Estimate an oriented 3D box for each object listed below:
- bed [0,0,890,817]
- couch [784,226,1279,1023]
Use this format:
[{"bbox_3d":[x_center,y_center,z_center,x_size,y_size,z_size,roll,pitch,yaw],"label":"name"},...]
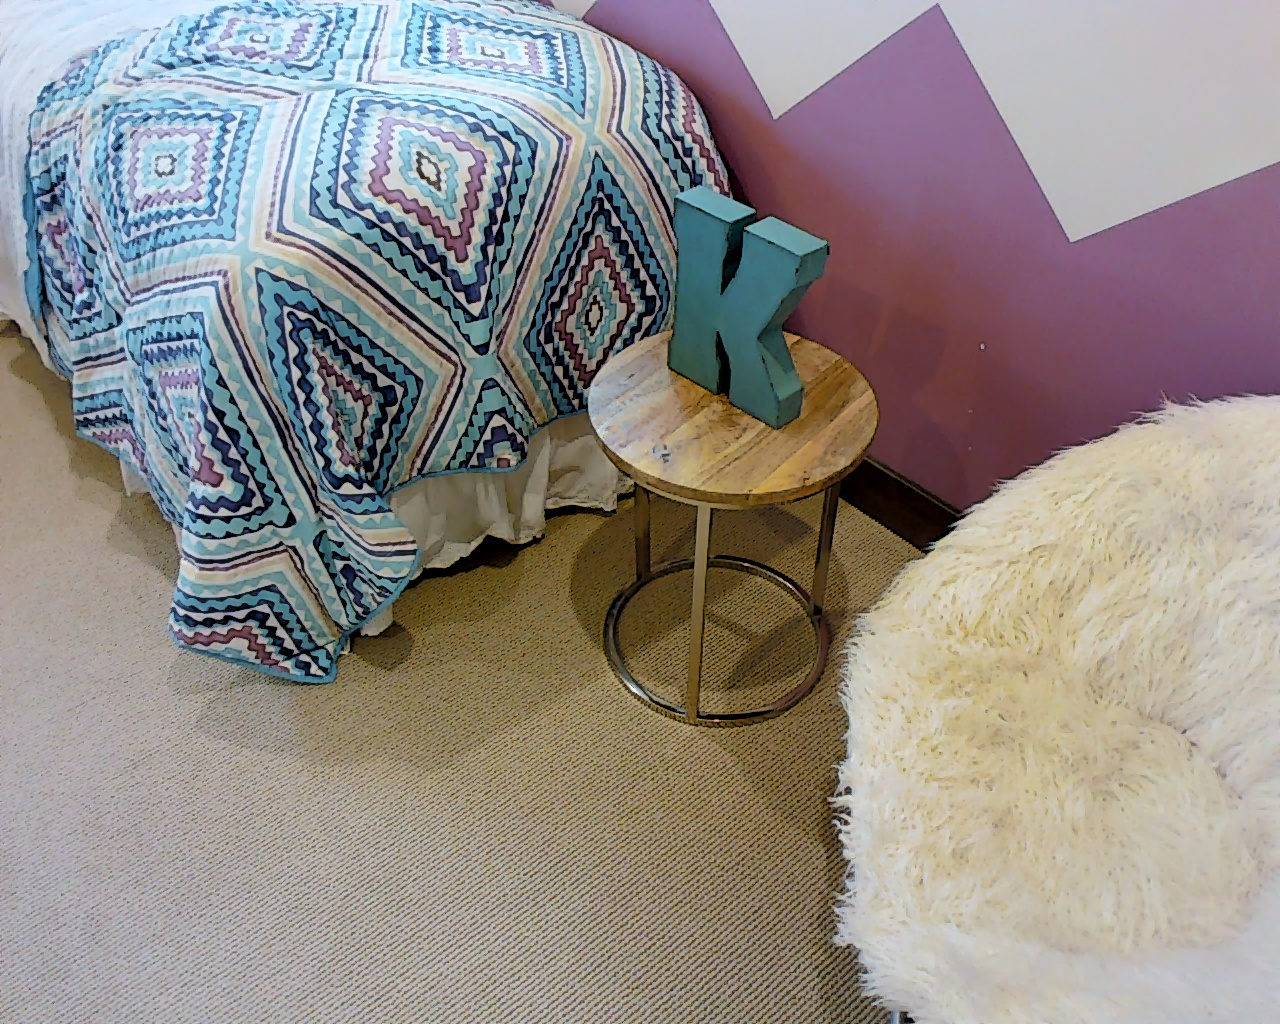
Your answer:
[{"bbox_3d":[-0.830,-0.790,2.210,1.260,1.130,2.240,-29,49,-30],"label":"bed"},{"bbox_3d":[0.580,0.320,1.170,0.740,0.820,0.980,8,41,7],"label":"couch"}]
